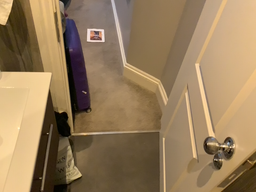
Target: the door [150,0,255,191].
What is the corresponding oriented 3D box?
[{"bbox_3d":[0.350,-0.120,0.860,0.080,2.140,0.840,11,46,0],"label":"door"}]
